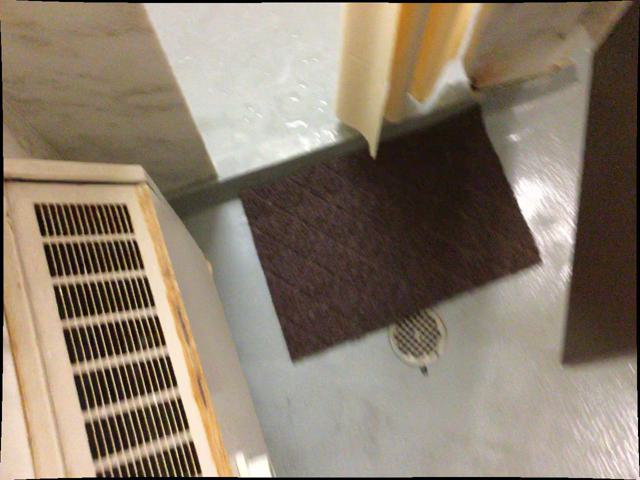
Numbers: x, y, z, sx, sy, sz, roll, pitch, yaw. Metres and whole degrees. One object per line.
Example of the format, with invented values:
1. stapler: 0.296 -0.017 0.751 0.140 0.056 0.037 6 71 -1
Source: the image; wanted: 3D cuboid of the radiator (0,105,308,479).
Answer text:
1. radiator: -0.170 0.270 0.840 0.200 0.530 0.720 -22 72 -7
